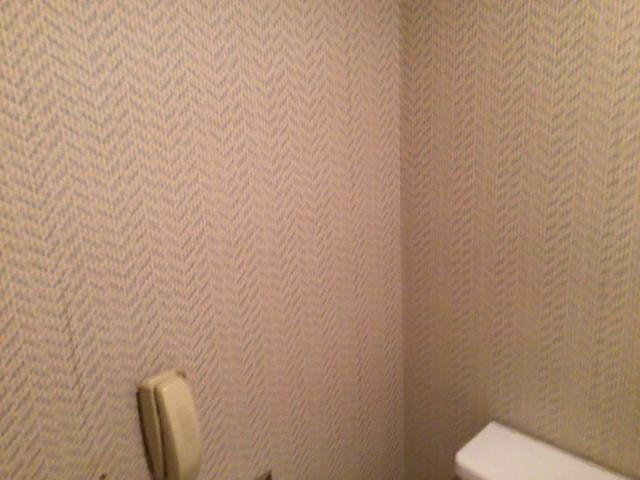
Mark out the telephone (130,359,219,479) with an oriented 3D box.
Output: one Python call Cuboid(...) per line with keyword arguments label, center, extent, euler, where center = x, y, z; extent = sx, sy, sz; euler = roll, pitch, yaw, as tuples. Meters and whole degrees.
Cuboid(label="telephone", center=(-0.250, 0.470, 1.070), extent=(0.090, 0.480, 0.100), euler=(-17, 19, -40))
